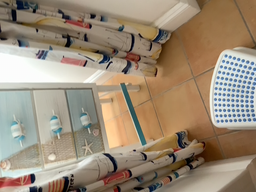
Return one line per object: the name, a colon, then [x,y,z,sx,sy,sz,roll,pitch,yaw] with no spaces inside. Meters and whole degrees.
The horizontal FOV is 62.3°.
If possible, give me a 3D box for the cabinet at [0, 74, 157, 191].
cabinet: [-0.340,0.160,1.070,0.360,0.960,0.420,-24,75,44]
